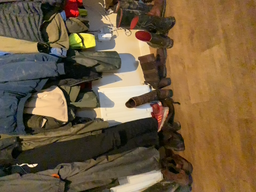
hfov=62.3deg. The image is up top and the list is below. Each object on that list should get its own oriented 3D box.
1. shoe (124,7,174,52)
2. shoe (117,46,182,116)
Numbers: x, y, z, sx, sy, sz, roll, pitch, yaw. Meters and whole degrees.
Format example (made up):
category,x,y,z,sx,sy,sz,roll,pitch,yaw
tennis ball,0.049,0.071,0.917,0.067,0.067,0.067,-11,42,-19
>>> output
category,x,y,z,sx,sy,sz,roll,pitch,yaw
shoe,0.180,-0.570,1.860,0.210,0.330,0.310,160,103,-67
shoe,0.180,-0.120,1.960,0.420,0.370,0.570,166,97,-68
